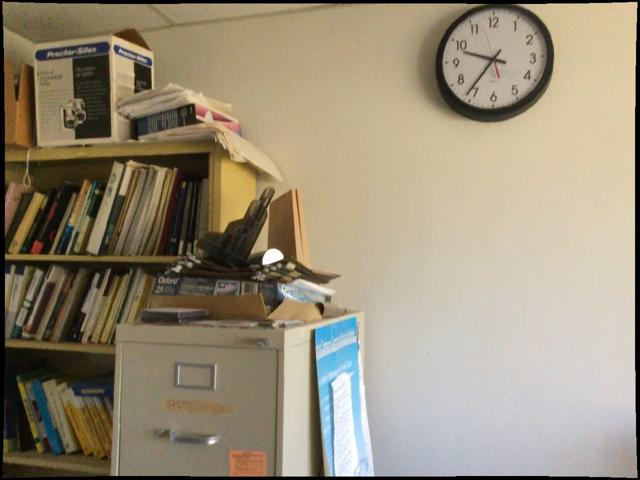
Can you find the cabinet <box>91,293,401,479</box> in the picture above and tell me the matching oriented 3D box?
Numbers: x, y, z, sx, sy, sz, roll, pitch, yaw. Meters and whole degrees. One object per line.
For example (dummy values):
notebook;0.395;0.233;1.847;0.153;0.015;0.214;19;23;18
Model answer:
cabinet;-0.110;0.942;1.500;0.539;1.544;0.820;0;-2;15
